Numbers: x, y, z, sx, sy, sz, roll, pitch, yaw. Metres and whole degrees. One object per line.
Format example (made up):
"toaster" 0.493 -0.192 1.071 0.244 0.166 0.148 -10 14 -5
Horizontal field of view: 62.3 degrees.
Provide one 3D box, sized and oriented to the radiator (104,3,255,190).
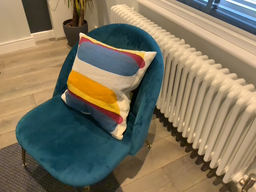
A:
"radiator" 0.210 -0.140 1.460 0.180 0.580 1.390 -18 43 -22
